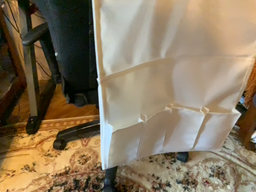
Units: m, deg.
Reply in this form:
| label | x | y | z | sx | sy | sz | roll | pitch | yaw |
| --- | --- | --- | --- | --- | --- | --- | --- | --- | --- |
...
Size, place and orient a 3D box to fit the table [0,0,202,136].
| label | x | y | z | sx | sy | sz | roll | pitch | yaw |
| --- | --- | --- | --- | --- | --- | --- | --- | --- | --- |
| table | -0.200 | -0.300 | 1.300 | 0.990 | 0.770 | 0.630 | -4 | 33 | -4 |
